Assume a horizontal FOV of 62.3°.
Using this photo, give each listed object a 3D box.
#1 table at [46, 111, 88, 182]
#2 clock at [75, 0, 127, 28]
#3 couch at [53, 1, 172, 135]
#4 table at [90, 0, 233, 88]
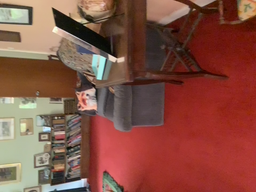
[{"bbox_3d":[-1.260,1.000,4.390,0.290,0.770,1.350,-178,90,-65],"label":"table"},{"bbox_3d":[-0.140,-0.460,1.070,0.180,0.210,0.160,-169,81,-65],"label":"clock"},{"bbox_3d":[-0.310,-0.210,2.340,1.450,0.820,0.950,-176,87,-65],"label":"couch"},{"bbox_3d":[0.180,-0.340,1.410,0.610,0.710,0.540,-179,90,-65],"label":"table"}]
